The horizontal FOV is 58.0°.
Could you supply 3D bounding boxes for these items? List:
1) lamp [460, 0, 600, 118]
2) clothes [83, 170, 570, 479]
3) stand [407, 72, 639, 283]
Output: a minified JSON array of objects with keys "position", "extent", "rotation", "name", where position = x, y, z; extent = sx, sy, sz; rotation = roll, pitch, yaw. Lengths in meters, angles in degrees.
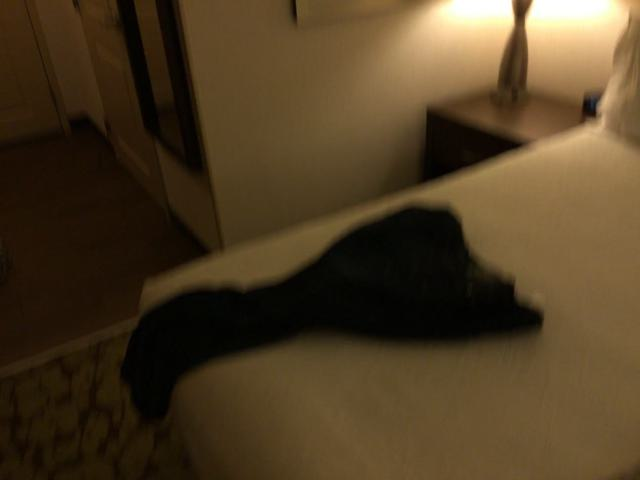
[{"position":[0.830,-0.930,2.300],"extent":[0.370,0.750,0.370],"rotation":[-20,30,-24],"name":"lamp"},{"position":[0.010,0.110,1.200],"extent":[0.840,0.170,0.510],"rotation":[-20,30,-24],"name":"clothes"},{"position":[0.840,-0.320,2.520],"extent":[0.590,0.620,0.690],"rotation":[-20,30,-24],"name":"stand"}]
